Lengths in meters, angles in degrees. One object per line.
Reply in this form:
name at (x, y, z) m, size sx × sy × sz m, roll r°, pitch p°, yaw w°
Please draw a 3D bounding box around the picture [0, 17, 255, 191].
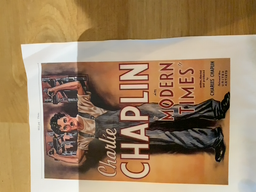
picture at (0.010, 0.030, 0.260) m, size 0.330 × 0.050 × 0.220 m, roll -1°, pitch 92°, yaw 6°
